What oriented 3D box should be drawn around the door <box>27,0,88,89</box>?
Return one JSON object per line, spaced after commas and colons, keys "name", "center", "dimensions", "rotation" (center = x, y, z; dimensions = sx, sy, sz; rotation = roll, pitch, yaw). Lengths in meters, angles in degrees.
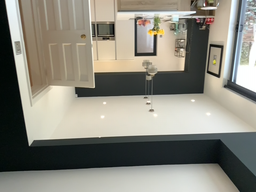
{"name": "door", "center": [-1.070, -1.130, 3.160], "dimensions": [0.850, 2.080, 0.040], "rotation": [3, -162, 12]}
